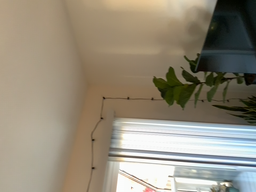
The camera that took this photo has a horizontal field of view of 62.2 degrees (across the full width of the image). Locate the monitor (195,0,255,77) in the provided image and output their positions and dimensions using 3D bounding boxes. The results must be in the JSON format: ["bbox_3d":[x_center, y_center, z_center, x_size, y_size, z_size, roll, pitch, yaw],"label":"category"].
[{"bbox_3d":[0.930,-0.540,1.410,1.120,0.700,0.070,87,-172,-52],"label":"monitor"}]
